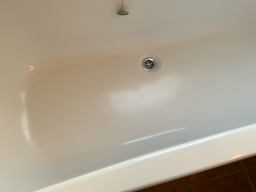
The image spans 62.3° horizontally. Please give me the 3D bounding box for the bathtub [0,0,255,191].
[{"bbox_3d":[0.090,-0.100,0.810,1.700,0.550,0.740,-12,69,-9],"label":"bathtub"}]
